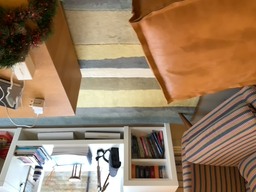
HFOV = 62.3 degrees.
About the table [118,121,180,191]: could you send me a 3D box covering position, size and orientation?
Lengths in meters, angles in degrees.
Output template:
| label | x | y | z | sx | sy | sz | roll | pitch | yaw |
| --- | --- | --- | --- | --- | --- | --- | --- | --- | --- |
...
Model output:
| label | x | y | z | sx | sy | sz | roll | pitch | yaw |
| --- | --- | --- | --- | --- | --- | --- | --- | --- | --- |
| table | 0.150 | 0.540 | 1.840 | 0.450 | 0.530 | 0.350 | 0 | 142 | 0 |
